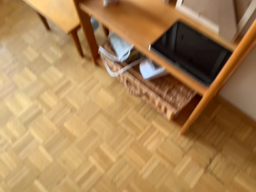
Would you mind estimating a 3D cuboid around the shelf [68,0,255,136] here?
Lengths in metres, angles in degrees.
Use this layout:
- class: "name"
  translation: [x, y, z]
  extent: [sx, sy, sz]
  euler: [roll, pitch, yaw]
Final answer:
- class: "shelf"
  translation: [0.090, -0.530, 0.280]
  extent: [0.670, 1.980, 0.290]
  euler: [40, 72, 18]
